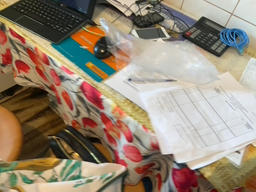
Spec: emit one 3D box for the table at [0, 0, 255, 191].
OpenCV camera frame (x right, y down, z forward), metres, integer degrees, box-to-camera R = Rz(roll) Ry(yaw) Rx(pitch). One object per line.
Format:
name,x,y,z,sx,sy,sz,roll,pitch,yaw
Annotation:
table,-0.050,0.010,1.030,1.130,0.750,0.600,38,53,20
